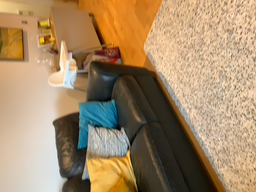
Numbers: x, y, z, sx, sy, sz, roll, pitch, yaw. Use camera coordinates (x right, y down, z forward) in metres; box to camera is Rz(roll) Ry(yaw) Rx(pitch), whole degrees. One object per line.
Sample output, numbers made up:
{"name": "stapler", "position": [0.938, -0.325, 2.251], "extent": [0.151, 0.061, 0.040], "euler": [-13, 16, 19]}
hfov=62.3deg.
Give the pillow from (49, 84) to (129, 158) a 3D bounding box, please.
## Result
{"name": "pillow", "position": [-0.370, 0.230, 2.080], "extent": [0.480, 0.600, 0.210], "euler": [-62, -2, -43]}
